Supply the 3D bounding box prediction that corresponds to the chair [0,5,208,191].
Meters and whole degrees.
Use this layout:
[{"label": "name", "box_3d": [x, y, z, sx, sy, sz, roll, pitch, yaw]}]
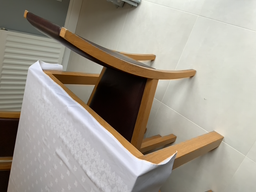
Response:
[{"label": "chair", "box_3d": [-0.080, -0.020, 1.140, 0.470, 0.900, 0.570, 34, 113, 37]}]
